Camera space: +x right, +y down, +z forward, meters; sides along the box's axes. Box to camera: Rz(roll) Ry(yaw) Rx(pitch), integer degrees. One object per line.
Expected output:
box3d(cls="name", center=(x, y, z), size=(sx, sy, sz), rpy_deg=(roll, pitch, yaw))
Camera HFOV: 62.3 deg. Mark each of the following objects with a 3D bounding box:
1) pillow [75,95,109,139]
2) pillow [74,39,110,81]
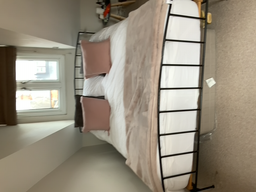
box3d(cls="pillow", center=(-0.460, 0.260, 2.810), size=(0.180, 0.430, 0.470), rpy_deg=(5, 103, 31))
box3d(cls="pillow", center=(-0.450, -0.470, 2.760), size=(0.170, 0.470, 0.490), rpy_deg=(0, 102, 26))
